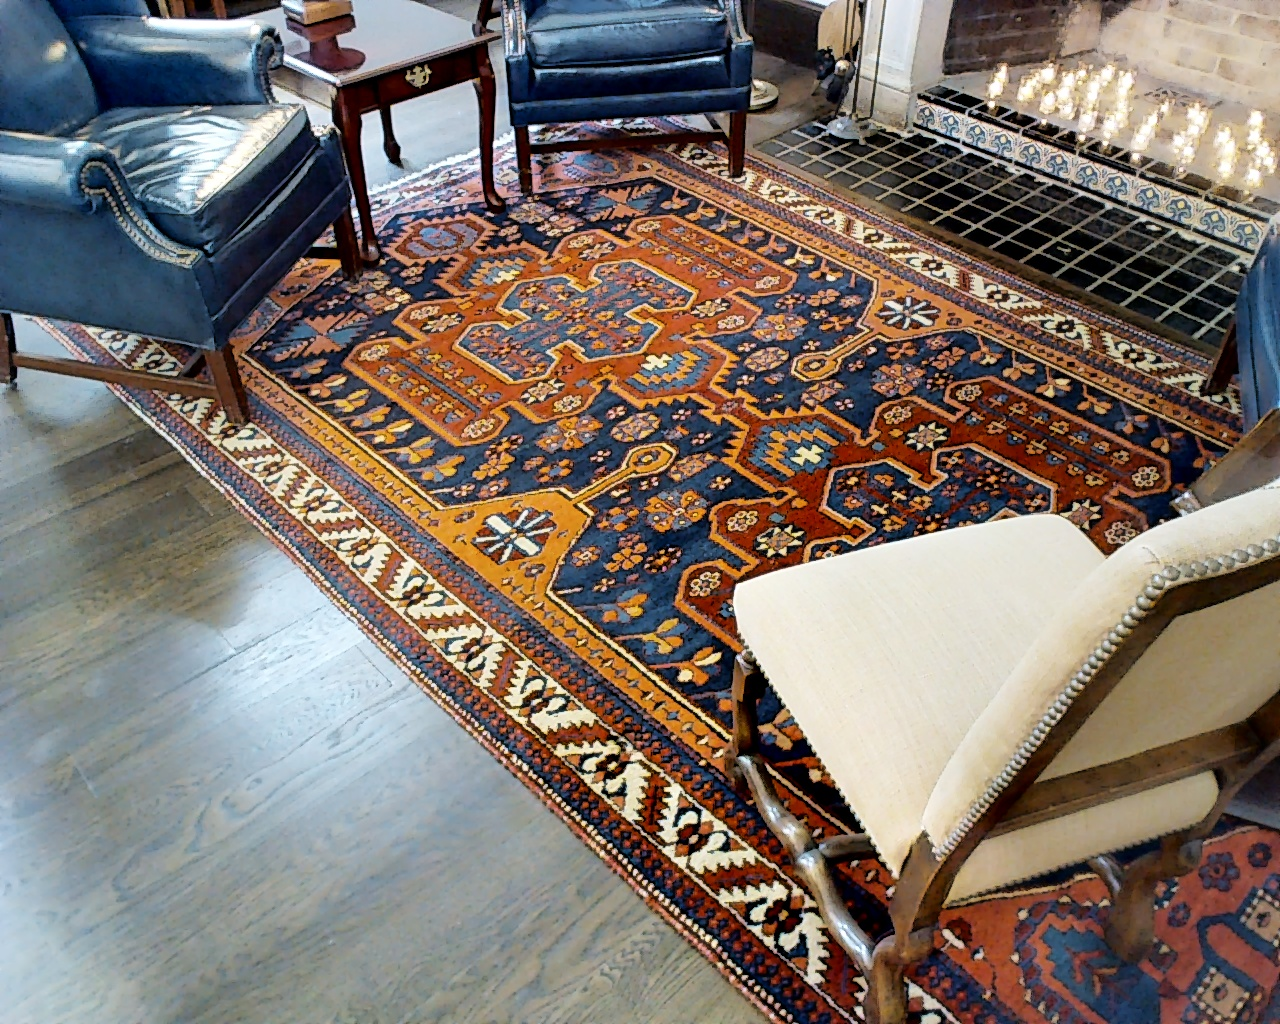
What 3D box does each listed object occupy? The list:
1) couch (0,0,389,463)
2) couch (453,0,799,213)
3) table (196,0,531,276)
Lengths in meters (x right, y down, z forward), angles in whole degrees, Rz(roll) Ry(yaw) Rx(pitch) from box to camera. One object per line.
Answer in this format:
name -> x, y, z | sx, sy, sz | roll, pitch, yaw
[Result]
couch -> -1.240, -0.890, 2.400 | 0.890, 1.110, 0.950 | 7, 43, 8
couch -> -0.100, -1.660, 3.280 | 0.950, 1.080, 0.920 | -6, 43, -7
table -> -0.780, -1.150, 3.120 | 0.590, 0.530, 0.680 | -33, 52, -31
